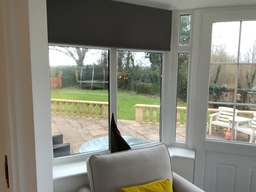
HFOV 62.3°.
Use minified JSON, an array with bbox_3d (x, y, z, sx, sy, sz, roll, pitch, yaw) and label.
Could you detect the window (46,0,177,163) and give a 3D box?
[{"bbox_3d":[-0.090,-0.140,1.980,1.220,1.320,0.120,-3,8,-27],"label":"window"}]
